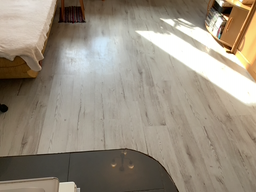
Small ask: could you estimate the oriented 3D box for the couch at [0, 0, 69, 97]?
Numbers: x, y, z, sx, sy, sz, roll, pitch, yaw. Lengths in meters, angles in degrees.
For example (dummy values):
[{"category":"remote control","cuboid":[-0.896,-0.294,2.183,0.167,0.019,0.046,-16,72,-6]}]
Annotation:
[{"category":"couch","cuboid":[-1.200,-1.020,2.130,0.880,0.950,1.950,-2,45,-7]}]
